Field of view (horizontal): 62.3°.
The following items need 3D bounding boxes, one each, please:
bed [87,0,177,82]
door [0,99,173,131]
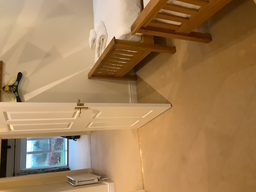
[{"bbox_3d":[-0.090,-1.340,2.740,1.030,0.630,2.070,146,122,-61],"label":"bed"},{"bbox_3d":[-0.620,0.210,2.130,0.820,2.040,0.040,137,130,-57],"label":"door"}]
